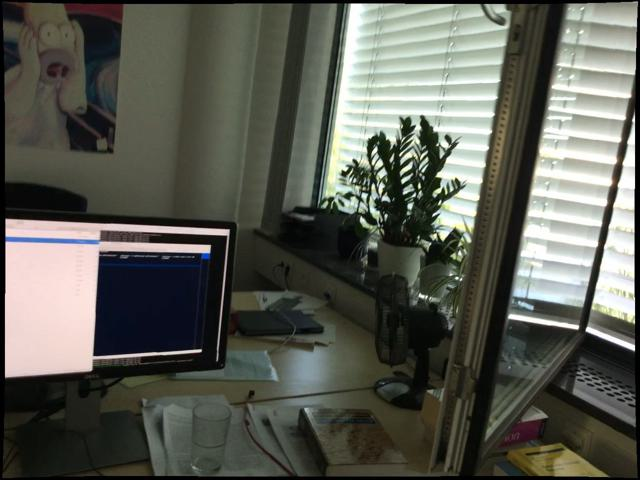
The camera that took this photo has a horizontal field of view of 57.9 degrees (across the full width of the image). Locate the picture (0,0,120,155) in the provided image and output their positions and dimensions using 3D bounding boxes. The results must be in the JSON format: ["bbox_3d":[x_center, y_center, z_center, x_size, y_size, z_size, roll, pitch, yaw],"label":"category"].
[{"bbox_3d":[-1.249,-0.861,2.650,0.610,0.901,0.100,-1,14,-28],"label":"picture"}]

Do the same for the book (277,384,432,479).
[{"bbox_3d":[0.070,0.440,1.340,0.240,0.060,0.290,-1,14,-28],"label":"book"}]

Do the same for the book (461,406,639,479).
[{"bbox_3d":[0.519,0.490,1.260,0.260,0.070,0.320,-1,14,-28],"label":"book"}]
